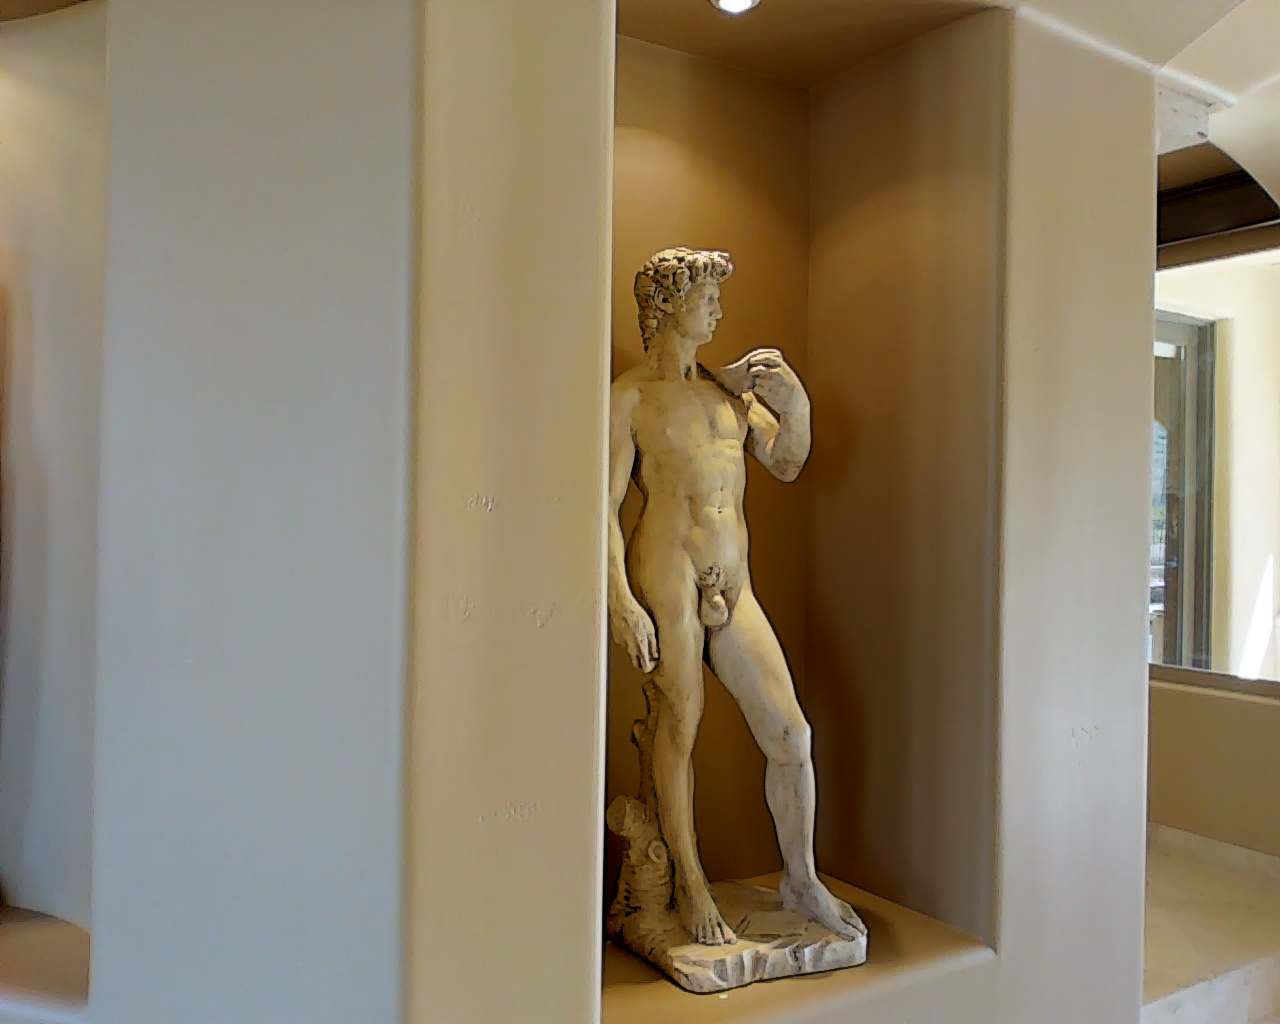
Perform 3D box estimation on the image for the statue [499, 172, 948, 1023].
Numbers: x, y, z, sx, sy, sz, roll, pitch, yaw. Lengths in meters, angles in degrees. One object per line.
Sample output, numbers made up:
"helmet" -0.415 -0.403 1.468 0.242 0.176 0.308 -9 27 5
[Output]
"statue" 0.140 0.140 1.750 0.610 1.190 0.350 2 0 -32
